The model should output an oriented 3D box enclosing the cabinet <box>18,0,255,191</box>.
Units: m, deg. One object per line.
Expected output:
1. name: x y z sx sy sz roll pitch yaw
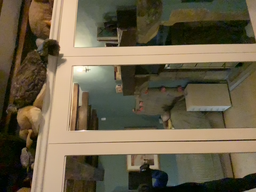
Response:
1. cabinet: 0.560 0.070 1.630 0.710 2.270 1.730 89 180 -70
